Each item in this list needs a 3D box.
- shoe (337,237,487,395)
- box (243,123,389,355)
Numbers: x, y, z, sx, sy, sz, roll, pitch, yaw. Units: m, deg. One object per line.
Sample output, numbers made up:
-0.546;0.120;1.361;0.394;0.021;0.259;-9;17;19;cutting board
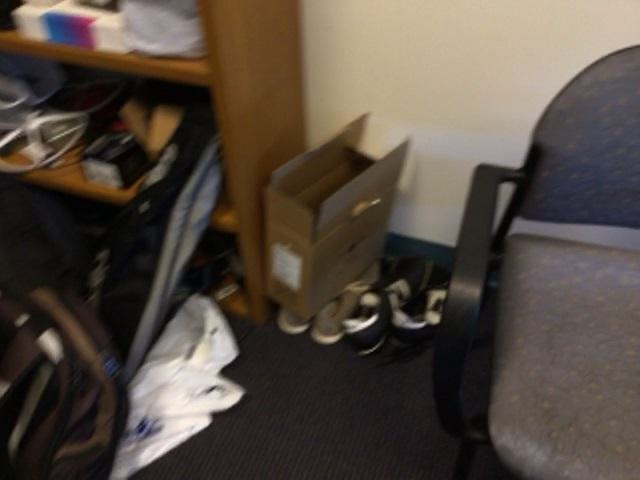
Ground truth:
0.230;0.170;1.410;0.270;0.120;0.330;14;45;18;shoe
0.010;0.000;1.350;0.210;0.420;0.290;14;45;18;box
